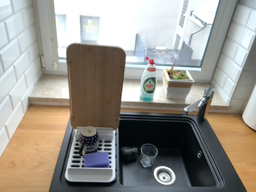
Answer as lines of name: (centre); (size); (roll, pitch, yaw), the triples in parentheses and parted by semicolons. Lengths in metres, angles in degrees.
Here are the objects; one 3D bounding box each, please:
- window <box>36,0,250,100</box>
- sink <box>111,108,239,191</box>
window: (0.120, -0.750, 1.160); (1.240, 1.730, 0.100); (3, 33, -5)
sink: (0.180, 0.330, 1.110); (0.510, 0.240, 0.520); (4, 33, -3)
